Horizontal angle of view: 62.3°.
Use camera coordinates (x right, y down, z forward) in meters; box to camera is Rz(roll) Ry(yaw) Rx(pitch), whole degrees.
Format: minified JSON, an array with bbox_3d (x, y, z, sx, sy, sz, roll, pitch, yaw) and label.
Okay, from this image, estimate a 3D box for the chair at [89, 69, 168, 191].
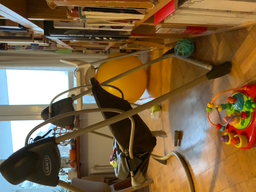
[{"bbox_3d":[-0.040,0.170,1.270,0.460,0.370,0.590,-120,31,-72],"label":"chair"}]
